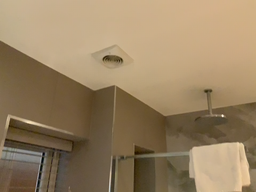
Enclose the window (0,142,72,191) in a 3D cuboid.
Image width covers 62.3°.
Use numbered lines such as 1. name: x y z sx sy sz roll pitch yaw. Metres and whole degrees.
1. window: -0.540 0.730 1.130 0.030 0.890 0.440 -13 -27 32
